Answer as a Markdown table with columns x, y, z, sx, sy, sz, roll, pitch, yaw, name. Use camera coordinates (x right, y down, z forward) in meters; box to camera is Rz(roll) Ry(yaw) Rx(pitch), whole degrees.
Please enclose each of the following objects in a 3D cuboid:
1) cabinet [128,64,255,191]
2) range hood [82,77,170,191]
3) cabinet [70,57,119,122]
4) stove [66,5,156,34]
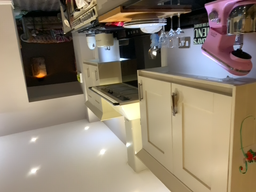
| x | y | z | sx | sy | sz | roll | pitch | yaw | name |
| --- | --- | --- | --- | --- | --- | --- | --- | --- | --- |
| 0.430 | 0.260 | 1.610 | 0.350 | 0.900 | 1.110 | -11 | -164 | -23 | cabinet |
| -0.070 | 0.390 | 2.680 | 0.630 | 1.070 | 1.080 | -11 | -164 | -24 | range hood |
| -0.610 | -0.190 | 3.660 | 0.440 | 0.900 | 1.090 | -11 | -164 | -23 | cabinet |
| -0.260 | -0.820 | 2.340 | 0.640 | 0.150 | 1.100 | -11 | -164 | -23 | stove |
